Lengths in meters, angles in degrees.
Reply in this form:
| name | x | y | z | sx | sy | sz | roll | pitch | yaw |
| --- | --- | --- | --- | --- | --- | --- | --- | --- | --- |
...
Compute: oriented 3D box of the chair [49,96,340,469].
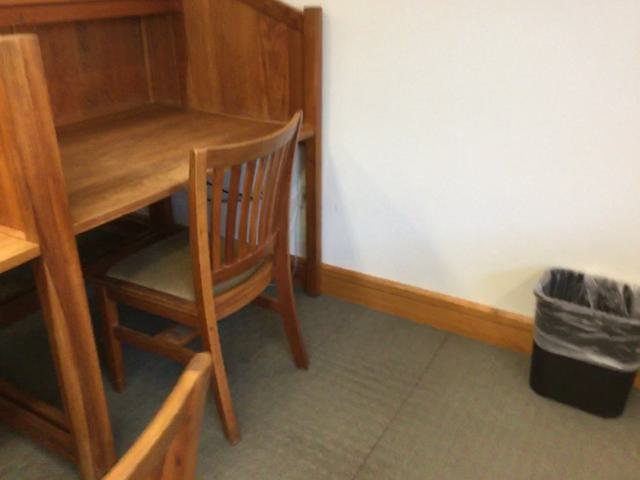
| name | x | y | z | sx | sy | sz | roll | pitch | yaw |
| --- | --- | --- | --- | --- | --- | --- | --- | --- | --- |
| chair | -0.390 | 0.060 | 1.880 | 0.590 | 0.950 | 0.620 | 15 | 20 | 26 |
